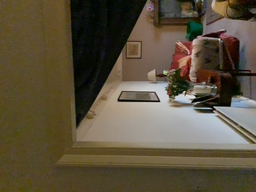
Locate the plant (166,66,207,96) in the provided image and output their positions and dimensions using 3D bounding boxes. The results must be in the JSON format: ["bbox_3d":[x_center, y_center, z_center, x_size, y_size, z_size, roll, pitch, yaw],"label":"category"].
[{"bbox_3d":[0.820,-0.220,3.050,0.330,0.500,0.400,-78,-12,-81],"label":"plant"}]
